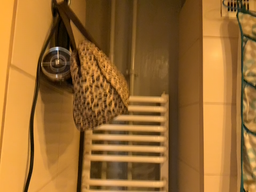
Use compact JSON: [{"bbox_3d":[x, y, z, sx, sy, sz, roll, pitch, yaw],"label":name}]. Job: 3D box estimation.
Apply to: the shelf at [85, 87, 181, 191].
[{"bbox_3d":[0.020,0.340,0.990,0.410,0.730,0.150,2,-7,-3],"label":"shelf"}]
